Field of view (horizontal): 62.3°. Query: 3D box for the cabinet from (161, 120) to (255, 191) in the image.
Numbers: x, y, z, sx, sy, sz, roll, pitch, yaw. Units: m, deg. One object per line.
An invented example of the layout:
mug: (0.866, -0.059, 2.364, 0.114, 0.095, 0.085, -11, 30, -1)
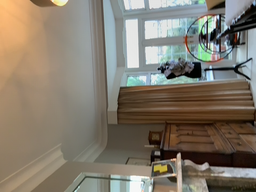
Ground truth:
cabinet: (1.210, 0.760, 2.980, 1.430, 1.390, 0.550, -26, -66, -77)

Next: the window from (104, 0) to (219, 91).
window: (0.650, -1.350, 4.320, 0.870, 2.060, 2.410, -11, -80, -78)
